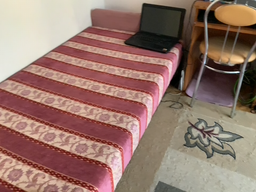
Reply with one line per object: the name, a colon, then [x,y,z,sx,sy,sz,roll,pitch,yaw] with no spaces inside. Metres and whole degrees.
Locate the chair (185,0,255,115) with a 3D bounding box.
chair: [0.710,-0.310,1.600,0.350,0.790,0.370,17,43,22]

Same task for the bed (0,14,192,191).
bed: [-0.260,0.020,1.510,0.920,0.440,2.100,15,42,19]
